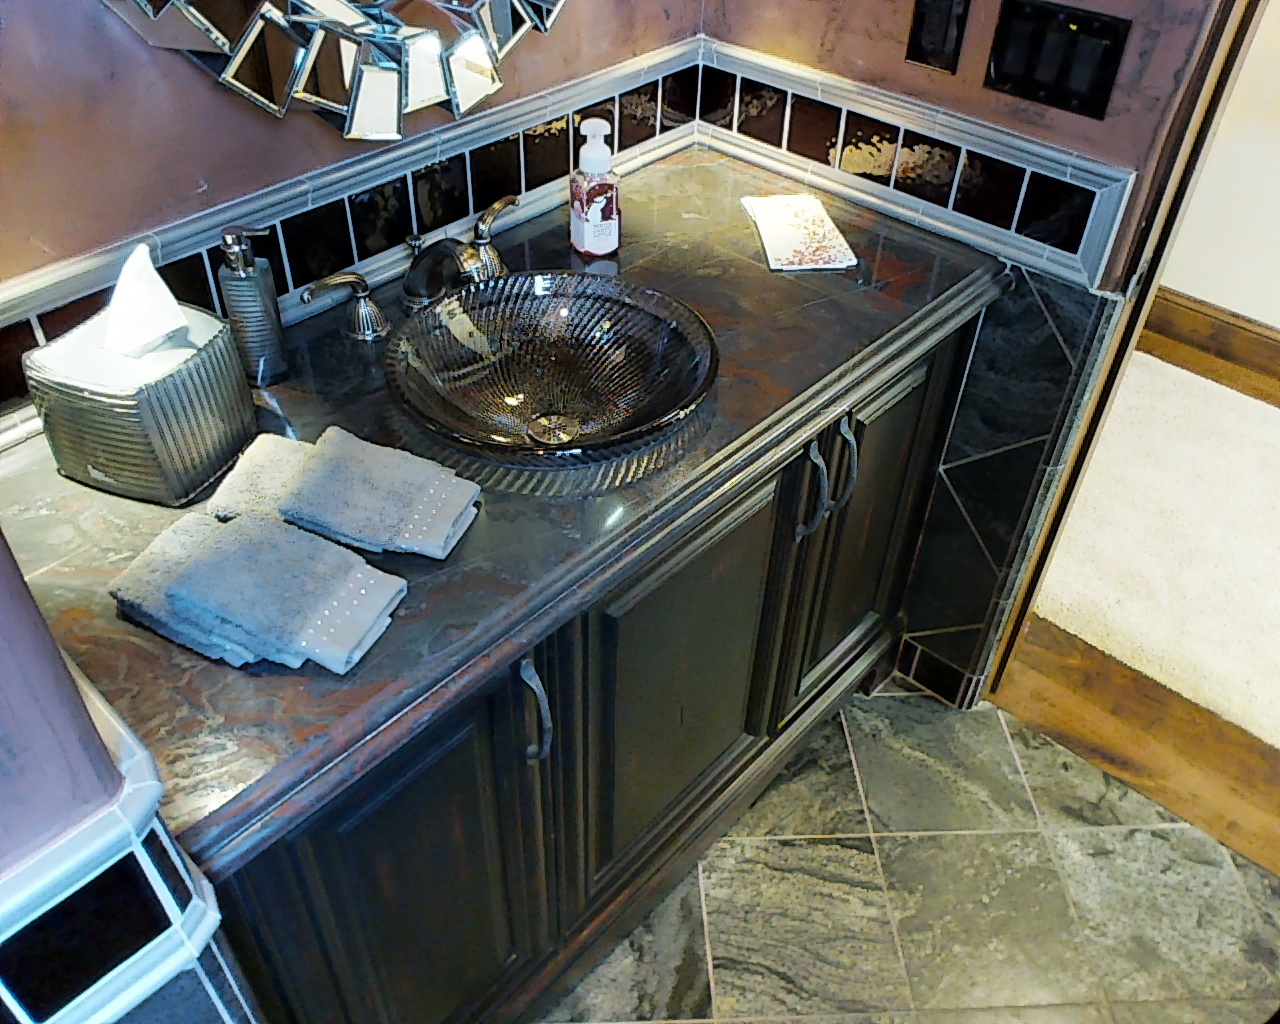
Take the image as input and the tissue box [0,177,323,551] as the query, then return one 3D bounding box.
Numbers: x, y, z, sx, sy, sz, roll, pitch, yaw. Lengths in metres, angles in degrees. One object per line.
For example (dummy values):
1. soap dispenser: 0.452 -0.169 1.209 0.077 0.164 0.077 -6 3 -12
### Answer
1. tissue box: -0.510 -0.160 1.110 0.230 0.250 0.220 32 49 30
